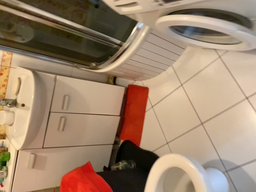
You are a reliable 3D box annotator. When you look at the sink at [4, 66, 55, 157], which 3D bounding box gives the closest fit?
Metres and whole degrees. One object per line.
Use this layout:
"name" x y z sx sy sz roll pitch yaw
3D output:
"sink" -0.660 0.080 1.390 0.380 0.120 0.490 18 97 46
